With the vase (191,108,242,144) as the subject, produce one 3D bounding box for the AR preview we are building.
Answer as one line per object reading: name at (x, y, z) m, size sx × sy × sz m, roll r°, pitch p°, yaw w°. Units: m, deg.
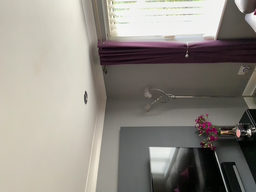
vase at (1.030, 0.350, 2.520) m, size 0.170 × 0.450 × 0.380 m, roll 88°, pitch -179°, yaw -45°
